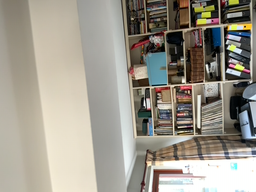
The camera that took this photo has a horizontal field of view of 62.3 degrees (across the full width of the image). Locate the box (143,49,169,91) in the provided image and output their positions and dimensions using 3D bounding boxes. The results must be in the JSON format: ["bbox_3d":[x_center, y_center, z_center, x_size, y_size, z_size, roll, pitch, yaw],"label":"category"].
[{"bbox_3d":[0.450,-0.410,3.360,0.330,0.350,0.610,-38,-55,-79],"label":"box"}]

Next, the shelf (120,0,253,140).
[{"bbox_3d":[0.900,-0.600,3.370,0.330,1.880,2.540,-43,-51,-78],"label":"shelf"}]

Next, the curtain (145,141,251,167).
[{"bbox_3d":[1.000,0.870,3.230,0.460,1.450,0.210,-38,-56,-79],"label":"curtain"}]
